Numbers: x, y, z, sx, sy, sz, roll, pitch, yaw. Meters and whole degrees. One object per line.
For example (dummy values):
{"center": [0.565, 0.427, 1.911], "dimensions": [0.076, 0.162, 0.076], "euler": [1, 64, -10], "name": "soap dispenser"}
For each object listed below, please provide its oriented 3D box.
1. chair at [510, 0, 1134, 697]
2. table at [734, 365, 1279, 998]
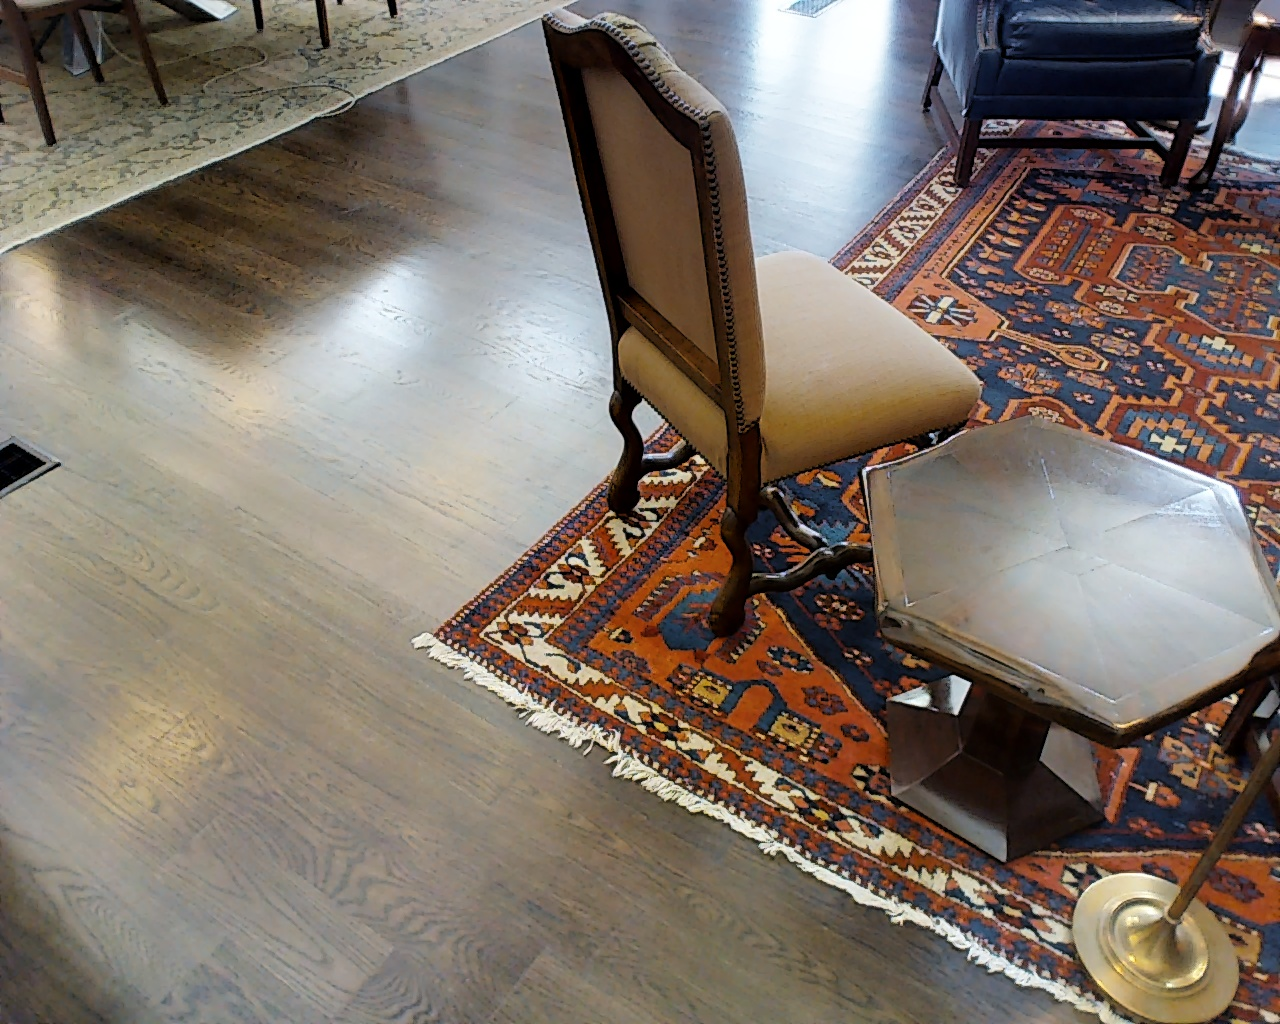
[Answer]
{"center": [0.230, -0.360, 1.830], "dimensions": [0.630, 1.100, 0.590], "euler": [-22, 47, -22], "name": "chair"}
{"center": [0.580, 0.220, 1.650], "dimensions": [0.640, 0.500, 0.570], "euler": [24, 48, 24], "name": "table"}
